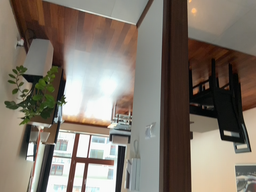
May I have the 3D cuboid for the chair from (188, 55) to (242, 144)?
[{"bbox_3d":[1.110,0.070,2.810,0.350,1.040,0.500,13,159,-24],"label":"chair"}]

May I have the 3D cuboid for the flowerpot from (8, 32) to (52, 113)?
[{"bbox_3d":[-1.150,-0.280,2.560,0.290,0.900,0.280,10,160,-17],"label":"flowerpot"}]
